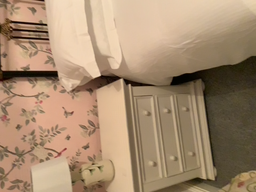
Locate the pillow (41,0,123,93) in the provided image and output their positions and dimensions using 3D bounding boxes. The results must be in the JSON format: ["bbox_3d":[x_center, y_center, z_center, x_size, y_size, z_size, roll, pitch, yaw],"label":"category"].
[{"bbox_3d":[-0.290,-0.440,1.150,0.440,0.270,0.780,-14,81,61],"label":"pillow"}]
